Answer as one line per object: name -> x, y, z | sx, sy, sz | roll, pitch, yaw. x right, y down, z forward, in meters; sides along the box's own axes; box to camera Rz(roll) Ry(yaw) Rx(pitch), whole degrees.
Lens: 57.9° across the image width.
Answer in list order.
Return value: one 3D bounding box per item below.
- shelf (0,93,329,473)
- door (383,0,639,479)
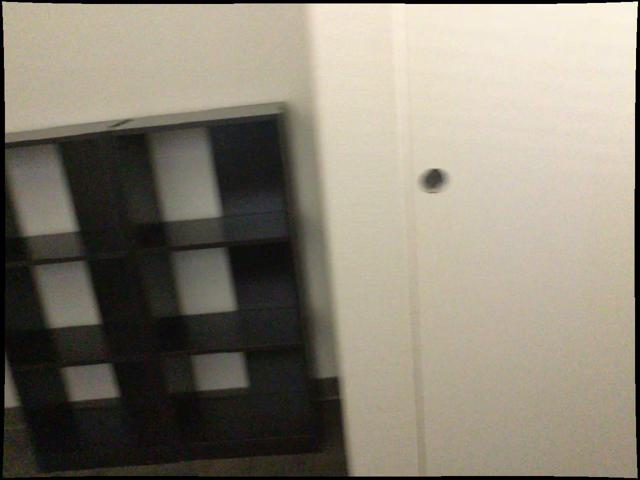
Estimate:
shelf -> -0.569, 0.170, 2.040 | 1.079, 1.181, 0.400 | -6, 21, 3
door -> 0.689, 0.120, 1.440 | 0.949, 1.391, 0.110 | -6, 21, 2
